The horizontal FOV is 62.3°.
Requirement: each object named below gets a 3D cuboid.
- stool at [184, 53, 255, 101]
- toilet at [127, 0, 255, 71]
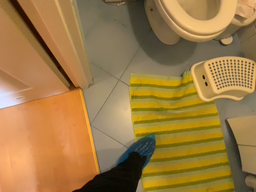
[{"bbox_3d":[0.540,-0.110,1.250,0.360,0.130,0.240,-3,81,-6],"label":"stool"},{"bbox_3d":[0.250,-0.590,0.960,0.380,0.810,0.680,-12,82,-8],"label":"toilet"}]
